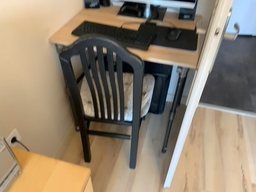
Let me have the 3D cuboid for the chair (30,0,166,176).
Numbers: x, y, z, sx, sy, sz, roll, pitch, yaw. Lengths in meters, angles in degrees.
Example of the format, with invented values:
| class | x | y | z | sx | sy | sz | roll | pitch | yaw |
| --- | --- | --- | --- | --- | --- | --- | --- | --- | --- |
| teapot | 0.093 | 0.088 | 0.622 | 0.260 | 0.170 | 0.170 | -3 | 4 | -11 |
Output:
| class | x | y | z | sx | sy | sz | roll | pitch | yaw |
| --- | --- | --- | --- | --- | --- | --- | --- | --- | --- |
| chair | -0.100 | -0.060 | 1.380 | 0.490 | 0.960 | 0.650 | 10 | 44 | 7 |
